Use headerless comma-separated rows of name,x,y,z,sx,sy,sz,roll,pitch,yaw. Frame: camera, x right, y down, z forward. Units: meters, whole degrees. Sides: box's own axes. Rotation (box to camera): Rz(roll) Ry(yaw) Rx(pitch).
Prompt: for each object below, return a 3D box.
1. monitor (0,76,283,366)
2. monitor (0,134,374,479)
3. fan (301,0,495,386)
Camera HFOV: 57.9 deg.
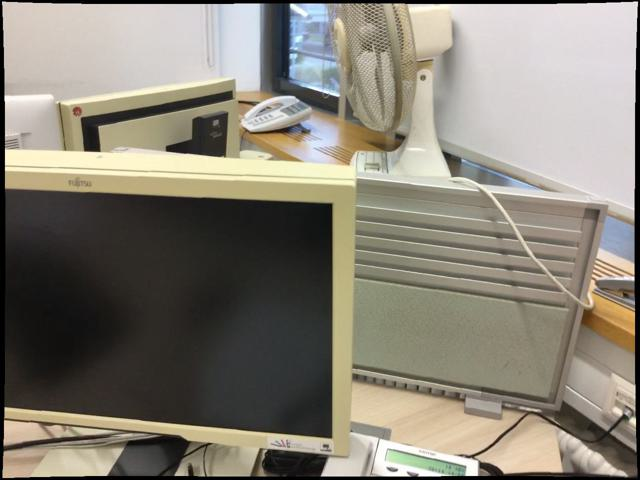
monitor,-0.360,-0.100,1.360,0.220,0.450,0.670,14,28,26
monitor,-0.240,0.130,0.770,0.589,0.460,0.300,2,25,3
fan,0.140,-0.180,1.430,0.270,0.951,0.440,-6,26,-15
